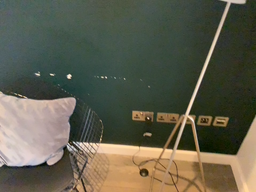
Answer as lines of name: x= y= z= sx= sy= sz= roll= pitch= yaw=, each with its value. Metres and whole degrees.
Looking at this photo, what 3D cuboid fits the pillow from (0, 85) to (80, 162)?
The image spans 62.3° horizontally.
pillow: x=-0.600 y=0.190 z=1.310 sx=0.490 sy=0.360 sz=0.350 roll=-8 pitch=73 yaw=-1
